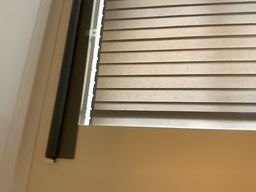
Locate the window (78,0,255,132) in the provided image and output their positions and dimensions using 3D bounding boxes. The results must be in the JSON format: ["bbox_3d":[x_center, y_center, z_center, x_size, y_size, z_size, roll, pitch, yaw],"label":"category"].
[{"bbox_3d":[0.460,-0.330,1.170,0.020,1.380,1.050,69,-157,-68],"label":"window"}]
